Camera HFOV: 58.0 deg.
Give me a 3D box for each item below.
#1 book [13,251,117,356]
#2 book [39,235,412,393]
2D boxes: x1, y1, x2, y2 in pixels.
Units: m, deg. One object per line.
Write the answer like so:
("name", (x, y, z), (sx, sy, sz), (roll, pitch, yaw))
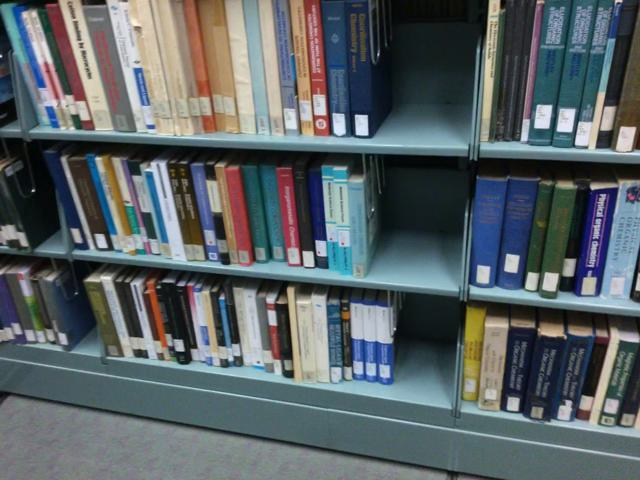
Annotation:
("book", (-0.680, 0.170, 1.560), (0.140, 0.250, 0.130), (0, 29, 17))
("book", (-0.230, 0.170, 1.470), (0.880, 0.300, 0.210), (0, 29, 16))
